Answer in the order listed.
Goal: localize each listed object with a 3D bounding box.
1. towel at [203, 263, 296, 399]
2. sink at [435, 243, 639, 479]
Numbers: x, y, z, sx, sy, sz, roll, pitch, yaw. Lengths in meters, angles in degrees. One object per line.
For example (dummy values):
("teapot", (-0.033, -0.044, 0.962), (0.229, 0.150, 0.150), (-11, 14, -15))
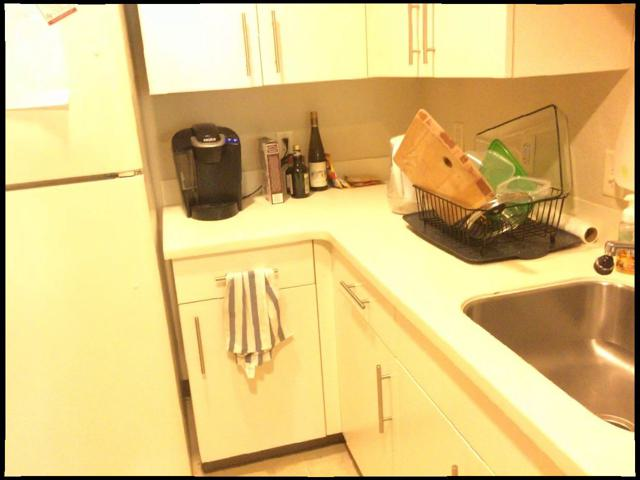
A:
("towel", (-0.230, 0.301, 1.910), (0.260, 0.411, 0.080), (-7, 17, -14))
("sink", (0.639, 0.261, 1.130), (0.569, 0.260, 0.680), (-7, 17, -14))
